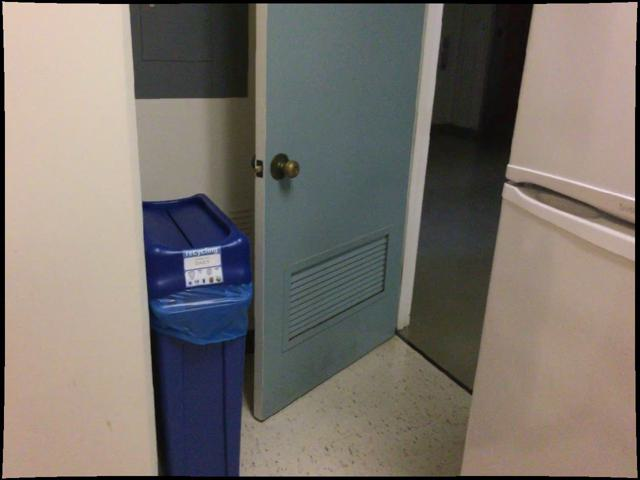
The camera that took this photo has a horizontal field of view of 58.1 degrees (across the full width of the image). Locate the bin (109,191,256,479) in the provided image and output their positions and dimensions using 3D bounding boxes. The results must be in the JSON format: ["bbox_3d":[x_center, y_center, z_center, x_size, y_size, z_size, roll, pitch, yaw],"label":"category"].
[{"bbox_3d":[-0.449,0.351,1.870,0.289,0.872,0.570,-8,23,-26],"label":"bin"}]
